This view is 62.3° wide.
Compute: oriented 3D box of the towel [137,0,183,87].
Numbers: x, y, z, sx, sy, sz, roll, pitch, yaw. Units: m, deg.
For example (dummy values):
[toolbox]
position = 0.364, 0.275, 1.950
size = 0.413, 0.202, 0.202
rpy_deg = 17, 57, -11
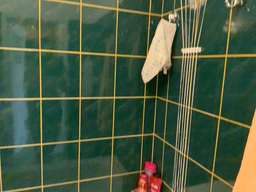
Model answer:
[towel]
position = 0.170, -0.290, 1.210
size = 0.150, 0.450, 0.210
rpy_deg = 0, 9, -18
